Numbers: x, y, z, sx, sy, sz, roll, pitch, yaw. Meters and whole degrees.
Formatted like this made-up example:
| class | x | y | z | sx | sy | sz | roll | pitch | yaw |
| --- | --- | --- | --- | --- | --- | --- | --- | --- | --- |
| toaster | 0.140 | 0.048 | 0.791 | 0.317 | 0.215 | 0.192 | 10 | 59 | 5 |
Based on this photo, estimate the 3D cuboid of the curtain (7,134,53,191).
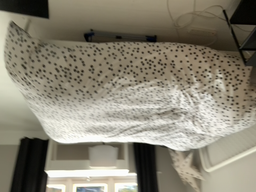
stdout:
| class | x | y | z | sx | sy | sz | roll | pitch | yaw |
| --- | --- | --- | --- | --- | --- | --- | --- | --- | --- |
| curtain | -1.530 | 1.670 | 3.120 | 0.520 | 2.270 | 0.140 | 3 | 150 | -11 |

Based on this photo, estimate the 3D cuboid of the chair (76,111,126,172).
| class | x | y | z | sx | sy | sz | roll | pitch | yaw |
| --- | --- | --- | --- | --- | --- | --- | --- | --- | --- |
| chair | -0.400 | 0.750 | 3.420 | 0.640 | 0.760 | 0.690 | -5 | 150 | 2 |

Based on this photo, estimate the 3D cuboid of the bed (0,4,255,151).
| class | x | y | z | sx | sy | sz | roll | pitch | yaw |
| --- | --- | --- | --- | --- | --- | --- | --- | --- | --- |
| bed | 0.030 | 0.050 | 2.340 | 2.230 | 0.640 | 1.700 | 2 | 150 | -9 |

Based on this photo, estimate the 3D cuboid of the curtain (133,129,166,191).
| class | x | y | z | sx | sy | sz | roll | pitch | yaw |
| --- | --- | --- | --- | --- | --- | --- | --- | --- | --- |
| curtain | 0.390 | 1.760 | 3.380 | 0.440 | 2.510 | 0.210 | 3 | 150 | -11 |
